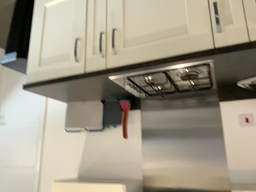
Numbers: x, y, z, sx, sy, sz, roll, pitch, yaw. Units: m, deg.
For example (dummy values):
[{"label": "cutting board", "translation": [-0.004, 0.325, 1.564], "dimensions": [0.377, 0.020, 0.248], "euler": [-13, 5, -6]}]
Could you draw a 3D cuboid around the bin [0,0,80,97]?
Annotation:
[{"label": "bin", "translation": [-0.790, -0.460, 2.000], "dimensions": [0.320, 0.790, 0.630], "euler": [-7, 165, 21]}]
